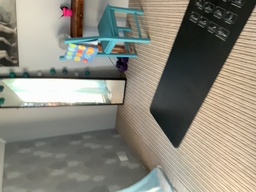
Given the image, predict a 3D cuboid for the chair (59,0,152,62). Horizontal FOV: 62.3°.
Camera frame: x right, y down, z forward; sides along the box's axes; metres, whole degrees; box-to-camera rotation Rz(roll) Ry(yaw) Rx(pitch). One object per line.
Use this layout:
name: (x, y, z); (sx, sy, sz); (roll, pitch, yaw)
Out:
chair: (-0.270, -0.720, 2.410); (0.460, 0.880, 0.490); (-41, 57, 58)
